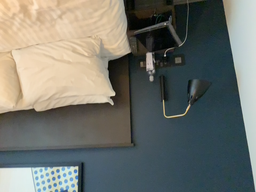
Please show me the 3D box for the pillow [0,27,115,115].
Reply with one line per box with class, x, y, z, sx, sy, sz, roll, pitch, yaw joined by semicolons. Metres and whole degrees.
pillow;-0.460;-0.160;1.430;0.620;0.440;0.220;-9;-167;14
